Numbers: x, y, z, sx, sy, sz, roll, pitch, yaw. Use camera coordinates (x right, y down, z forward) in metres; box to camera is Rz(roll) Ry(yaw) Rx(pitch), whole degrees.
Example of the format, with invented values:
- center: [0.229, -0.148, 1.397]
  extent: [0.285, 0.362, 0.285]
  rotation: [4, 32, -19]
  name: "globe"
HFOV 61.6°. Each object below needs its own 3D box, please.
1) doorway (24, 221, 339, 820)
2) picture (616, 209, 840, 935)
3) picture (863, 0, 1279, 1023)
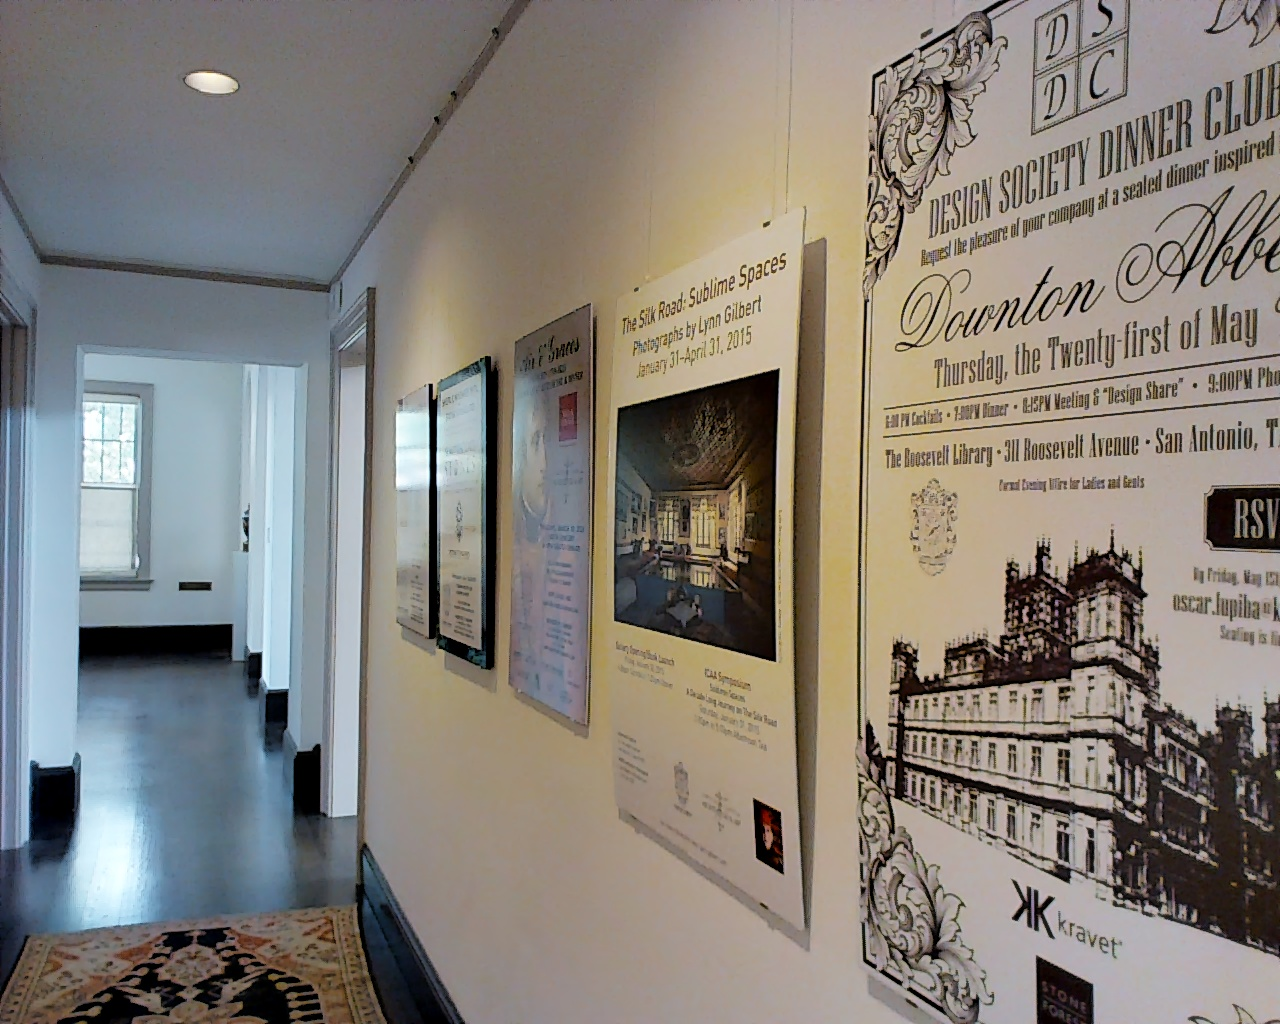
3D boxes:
- center: [-2.360, 0.050, 5.620]
  extent: [1.390, 2.830, 0.610]
  rotation: [1, 0, -23]
  name: "doorway"
- center: [0.100, 0.070, 1.570]
  extent: [0.040, 0.870, 0.600]
  rotation: [1, 0, -22]
  name: "picture"
- center: [0.380, -0.010, 0.910]
  extent: [0.040, 0.990, 0.570]
  rotation: [1, 0, -22]
  name: "picture"
